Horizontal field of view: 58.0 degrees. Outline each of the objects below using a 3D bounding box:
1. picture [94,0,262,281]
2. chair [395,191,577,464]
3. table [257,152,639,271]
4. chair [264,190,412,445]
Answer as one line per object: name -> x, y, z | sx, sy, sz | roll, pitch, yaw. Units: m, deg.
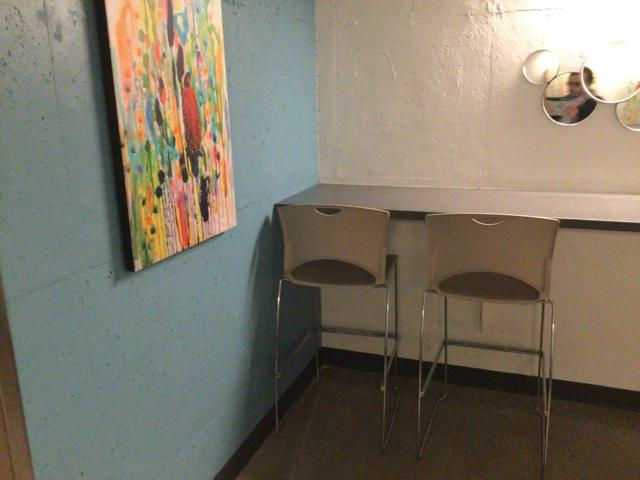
picture -> -0.390, -0.400, 1.830 | 0.060, 0.880, 0.810 | 4, 12, 19
chair -> 0.680, 0.310, 2.410 | 0.540, 0.910, 0.550 | 8, 14, 18
table -> 1.350, -0.110, 2.120 | 3.160, 0.330, 0.670 | 4, 12, 19
chair -> 0.100, 0.300, 2.640 | 0.500, 0.980, 0.570 | 4, 12, 19
